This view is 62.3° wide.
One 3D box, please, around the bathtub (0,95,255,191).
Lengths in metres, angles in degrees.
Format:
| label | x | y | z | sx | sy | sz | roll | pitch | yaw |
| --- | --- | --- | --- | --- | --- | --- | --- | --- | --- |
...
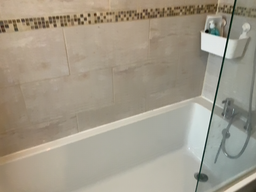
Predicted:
| label | x | y | z | sx | sy | sz | roll | pitch | yaw |
| --- | --- | --- | --- | --- | --- | --- | --- | --- | --- |
| bathtub | 0.030 | 0.600 | 1.260 | 1.680 | 0.590 | 0.750 | -15 | 32 | -25 |
